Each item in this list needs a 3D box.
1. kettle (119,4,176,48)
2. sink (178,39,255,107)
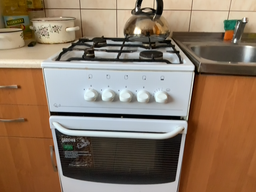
[{"bbox_3d":[0.090,-0.350,1.020,0.220,0.160,0.350,3,24,4],"label":"kettle"},{"bbox_3d":[0.450,-0.120,0.920,0.380,0.180,0.380,3,24,3],"label":"sink"}]
